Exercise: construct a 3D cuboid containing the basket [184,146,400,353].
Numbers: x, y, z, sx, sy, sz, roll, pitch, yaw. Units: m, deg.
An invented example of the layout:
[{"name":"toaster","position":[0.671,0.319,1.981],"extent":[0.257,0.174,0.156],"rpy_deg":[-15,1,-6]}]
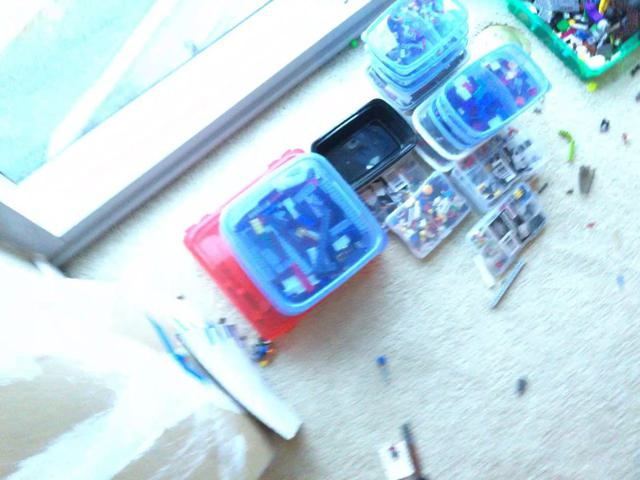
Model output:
[{"name":"basket","position":[-0.050,0.020,1.110],"extent":[0.310,0.240,0.130],"rpy_deg":[-35,-14,-8]}]
